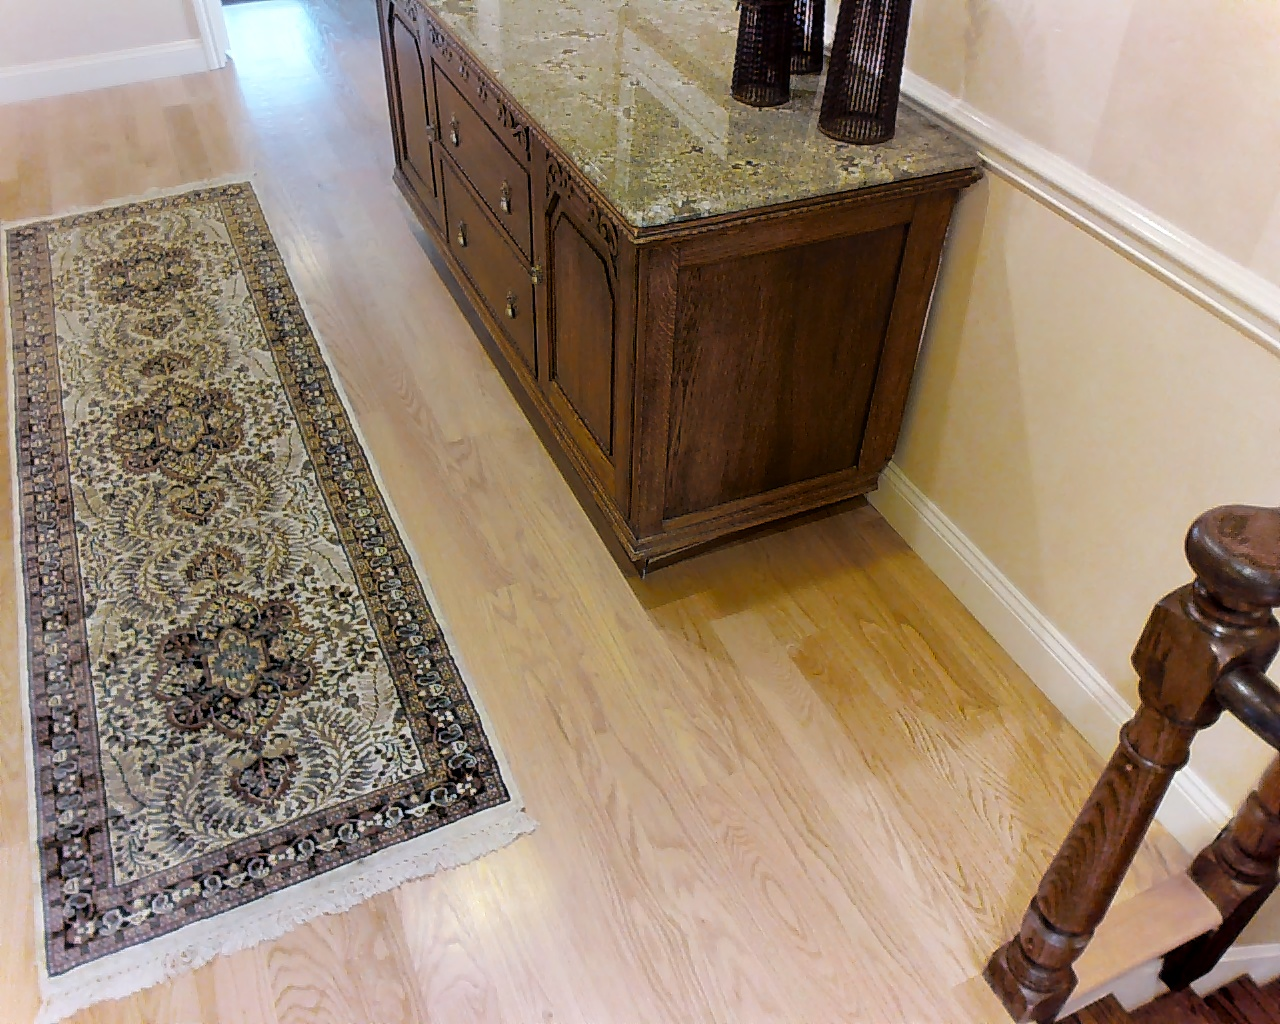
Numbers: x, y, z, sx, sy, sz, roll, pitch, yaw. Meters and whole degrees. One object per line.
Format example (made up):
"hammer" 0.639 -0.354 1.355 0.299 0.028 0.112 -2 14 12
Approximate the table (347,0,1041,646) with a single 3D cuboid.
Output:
"table" -0.080 -0.760 2.550 0.730 0.920 1.890 -17 45 -17
